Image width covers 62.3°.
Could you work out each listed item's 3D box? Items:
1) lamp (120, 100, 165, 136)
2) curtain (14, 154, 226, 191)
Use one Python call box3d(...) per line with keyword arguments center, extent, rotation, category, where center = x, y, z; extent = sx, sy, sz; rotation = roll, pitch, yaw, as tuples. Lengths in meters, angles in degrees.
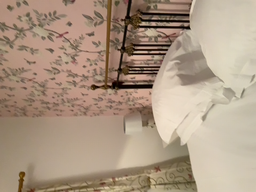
box3d(center=(0.140, 0.240, 2.280), extent=(0.250, 0.410, 0.310), rotation=(106, 160, -64), category="lamp")
box3d(center=(-0.020, 0.950, 2.070), extent=(0.100, 2.030, 0.590), rotation=(107, 159, -65), category="curtain")
